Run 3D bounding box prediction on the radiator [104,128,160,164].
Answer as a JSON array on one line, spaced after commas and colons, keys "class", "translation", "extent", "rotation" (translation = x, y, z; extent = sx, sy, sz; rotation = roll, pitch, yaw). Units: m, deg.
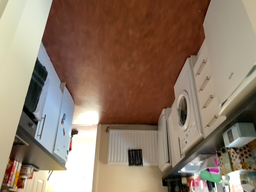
[{"class": "radiator", "translation": [0.070, 0.850, 3.620], "extent": [0.900, 0.570, 0.160], "rotation": [1, 151, -2]}]
